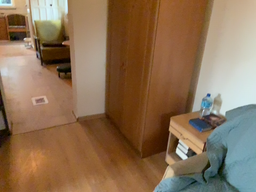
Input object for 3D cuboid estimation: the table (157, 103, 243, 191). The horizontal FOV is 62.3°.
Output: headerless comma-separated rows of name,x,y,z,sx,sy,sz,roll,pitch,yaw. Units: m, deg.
table,0.630,0.450,1.980,0.450,0.550,0.490,-9,27,-26
